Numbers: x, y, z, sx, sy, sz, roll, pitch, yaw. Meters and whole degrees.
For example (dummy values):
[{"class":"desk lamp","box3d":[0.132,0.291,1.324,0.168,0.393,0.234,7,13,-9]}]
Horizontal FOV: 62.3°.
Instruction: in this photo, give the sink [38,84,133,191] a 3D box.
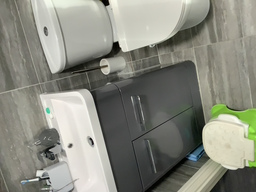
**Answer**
[{"class":"sink","box3d":[-0.220,0.270,1.070,0.450,0.120,0.620,-3,105,48]}]

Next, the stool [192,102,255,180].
[{"class":"stool","box3d":[0.600,0.240,1.250,0.340,0.200,0.340,5,110,46]}]
